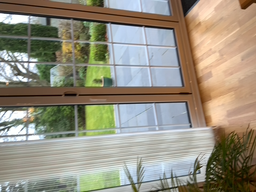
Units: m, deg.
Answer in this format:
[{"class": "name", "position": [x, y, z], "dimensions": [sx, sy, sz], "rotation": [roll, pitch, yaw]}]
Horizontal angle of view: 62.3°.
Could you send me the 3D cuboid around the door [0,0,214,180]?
[{"class": "door", "position": [-0.330, -0.580, 2.010], "dimensions": [0.160, 2.100, 2.370], "rotation": [140, 126, -65]}]
